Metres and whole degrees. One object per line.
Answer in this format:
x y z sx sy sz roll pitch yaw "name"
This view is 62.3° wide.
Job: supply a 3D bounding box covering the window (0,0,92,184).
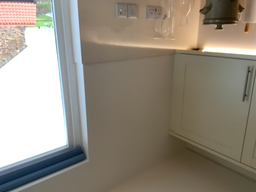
-0.680 -0.100 1.220 0.920 1.150 0.190 -16 -157 -40 "window"
